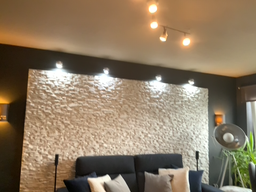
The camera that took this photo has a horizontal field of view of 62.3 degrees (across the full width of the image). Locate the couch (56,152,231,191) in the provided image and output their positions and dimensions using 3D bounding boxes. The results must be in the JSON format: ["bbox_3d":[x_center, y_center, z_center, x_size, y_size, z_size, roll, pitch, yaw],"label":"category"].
[{"bbox_3d":[0.220,1.440,3.090,2.350,1.010,1.030,5,-7,-23],"label":"couch"}]

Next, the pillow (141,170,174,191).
[{"bbox_3d":[0.440,1.330,3.180,0.440,0.360,0.220,-8,-24,5],"label":"pillow"}]

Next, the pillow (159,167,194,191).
[{"bbox_3d":[0.730,1.340,3.200,0.410,0.470,0.210,-1,-23,-9],"label":"pillow"}]
